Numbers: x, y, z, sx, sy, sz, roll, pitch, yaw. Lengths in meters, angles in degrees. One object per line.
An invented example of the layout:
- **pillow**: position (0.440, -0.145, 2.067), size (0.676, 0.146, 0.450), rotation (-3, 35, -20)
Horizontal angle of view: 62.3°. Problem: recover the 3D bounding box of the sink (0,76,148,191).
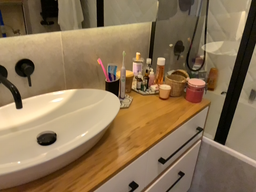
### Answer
- **sink**: position (-0.280, 0.110, 0.750), size (0.390, 0.120, 0.610), rotation (26, 34, 37)
